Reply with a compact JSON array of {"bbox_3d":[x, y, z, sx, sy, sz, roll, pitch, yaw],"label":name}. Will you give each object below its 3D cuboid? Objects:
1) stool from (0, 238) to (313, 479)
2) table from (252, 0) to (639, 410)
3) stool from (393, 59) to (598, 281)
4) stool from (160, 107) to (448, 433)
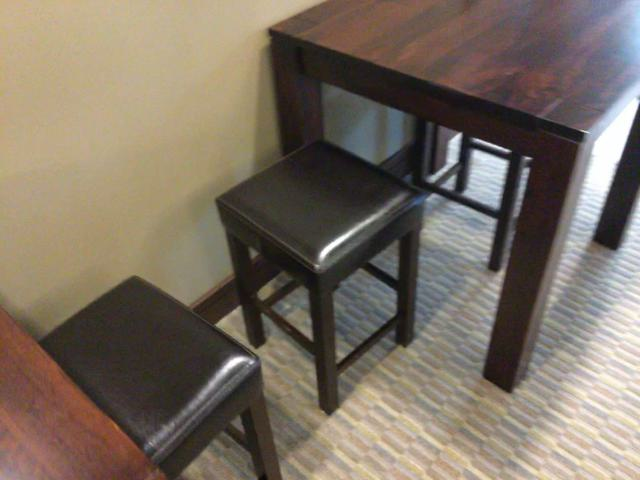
[{"bbox_3d":[-0.390,0.470,1.350,0.570,0.670,0.430,26,51,33],"label":"stool"},{"bbox_3d":[0.550,-0.310,1.930,0.980,0.950,1.000,26,51,33],"label":"table"},{"bbox_3d":[0.630,-0.280,2.170,0.510,0.530,0.490,26,51,33],"label":"stool"},{"bbox_3d":[-0.020,0.070,1.770,0.610,0.660,0.490,26,51,33],"label":"stool"}]
